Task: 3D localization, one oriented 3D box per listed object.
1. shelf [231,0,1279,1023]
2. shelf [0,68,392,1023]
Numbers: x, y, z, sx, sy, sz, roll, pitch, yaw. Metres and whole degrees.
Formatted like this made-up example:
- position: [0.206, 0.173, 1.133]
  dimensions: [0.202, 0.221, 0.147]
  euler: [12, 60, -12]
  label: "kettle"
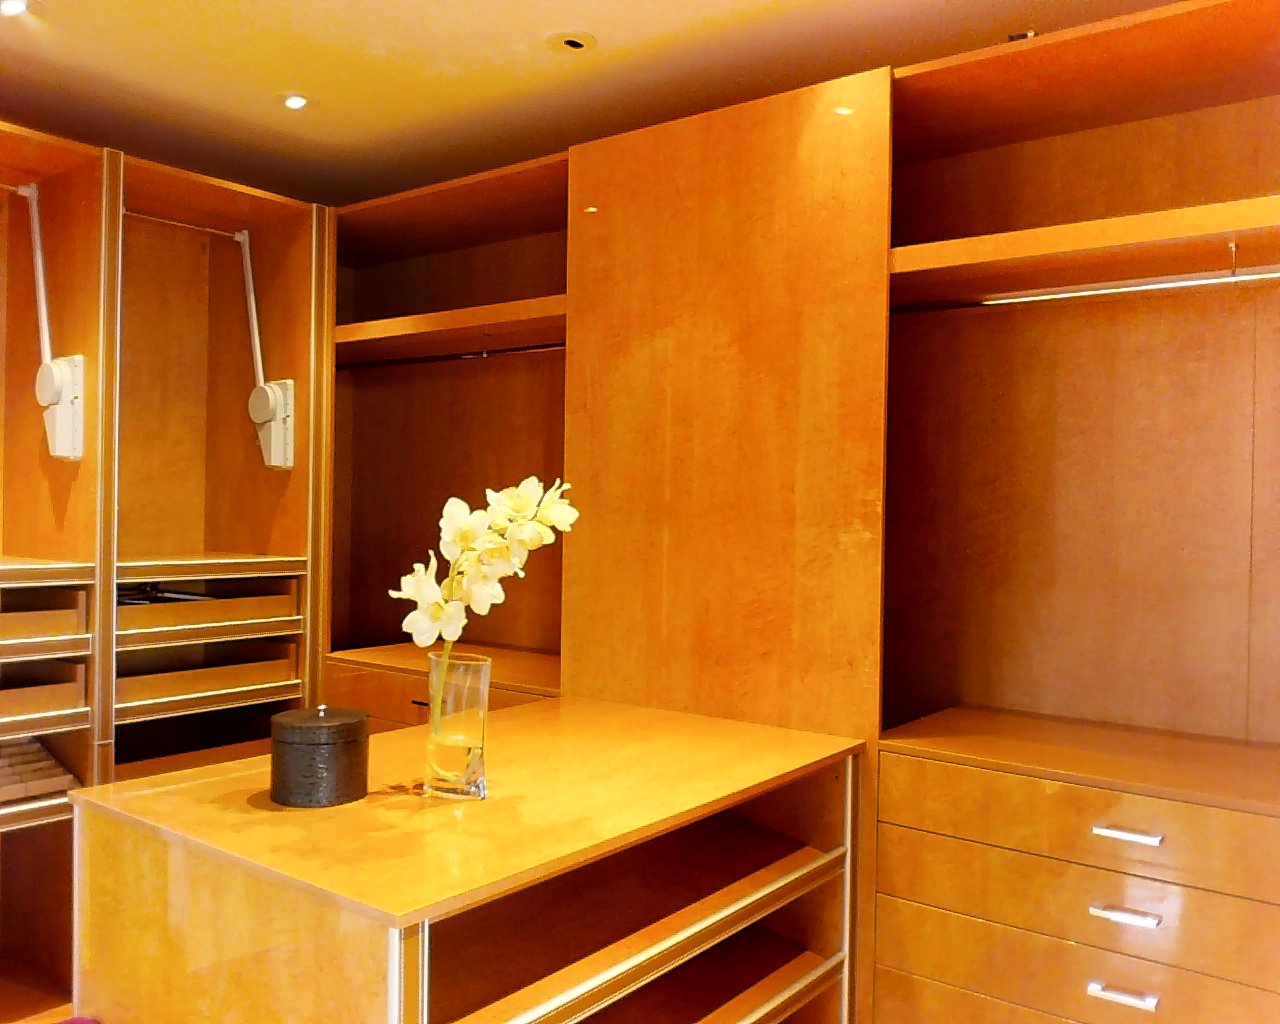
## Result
- position: [0.370, 0.230, 2.720]
  dimensions: [3.789, 2.551, 0.740]
  euler: [1, 1, 38]
  label: "shelf"
- position: [-1.569, 0.200, 3.200]
  dimensions: [0.780, 2.541, 1.420]
  euler: [1, 1, 38]
  label: "shelf"
